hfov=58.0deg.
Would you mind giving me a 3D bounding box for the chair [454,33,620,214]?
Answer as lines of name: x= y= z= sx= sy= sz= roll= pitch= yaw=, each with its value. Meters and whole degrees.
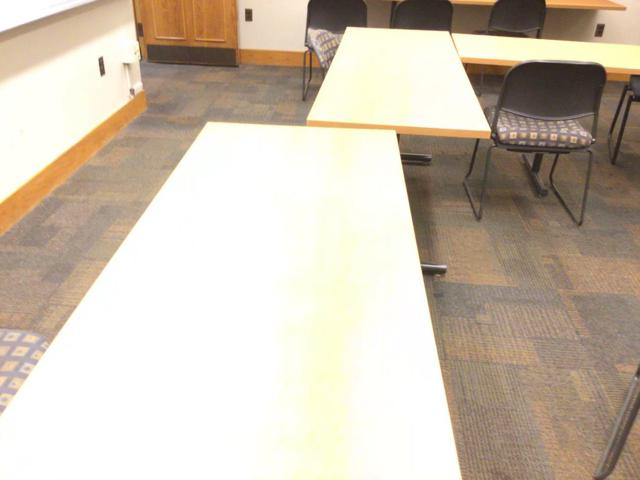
chair: x=0.980 y=-0.570 z=2.770 sx=0.510 sy=0.720 sz=0.540 roll=1 pitch=29 yaw=3
